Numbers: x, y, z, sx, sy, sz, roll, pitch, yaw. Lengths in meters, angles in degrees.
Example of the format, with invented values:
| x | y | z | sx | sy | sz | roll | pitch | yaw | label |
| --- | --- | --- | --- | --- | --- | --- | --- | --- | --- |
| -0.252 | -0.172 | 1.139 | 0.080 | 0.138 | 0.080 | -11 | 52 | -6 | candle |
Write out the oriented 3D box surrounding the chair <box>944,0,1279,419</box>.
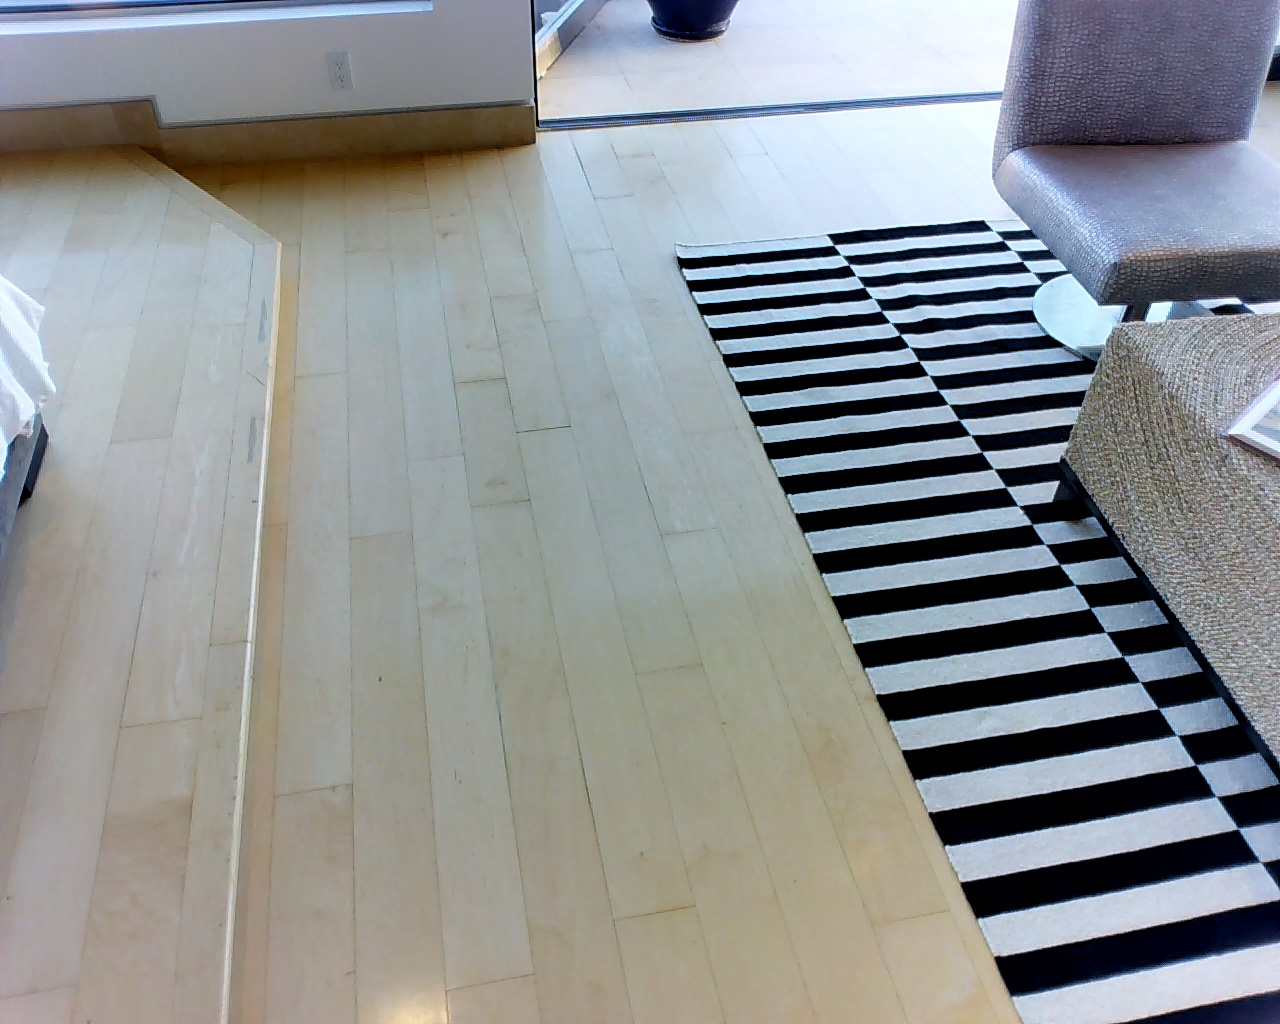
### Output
| x | y | z | sx | sy | sz | roll | pitch | yaw | label |
| --- | --- | --- | --- | --- | --- | --- | --- | --- | --- |
| 1.350 | -0.830 | 2.650 | 0.770 | 0.810 | 0.820 | -5 | 43 | -8 | chair |
